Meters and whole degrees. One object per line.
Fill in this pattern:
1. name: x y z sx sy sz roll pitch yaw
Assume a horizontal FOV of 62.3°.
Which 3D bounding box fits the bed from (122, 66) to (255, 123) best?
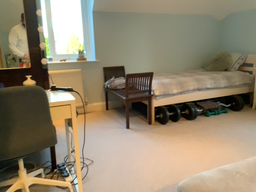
1. bed: 1.110 -0.130 3.790 2.150 0.580 1.090 -7 14 -22
